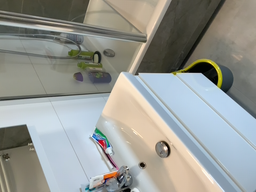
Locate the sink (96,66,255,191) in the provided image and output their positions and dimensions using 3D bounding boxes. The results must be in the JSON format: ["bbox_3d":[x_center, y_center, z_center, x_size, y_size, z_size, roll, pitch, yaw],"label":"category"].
[{"bbox_3d":[0.130,0.220,0.880,0.630,0.140,0.380,52,129,32],"label":"sink"}]

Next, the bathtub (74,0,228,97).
[{"bbox_3d":[0.260,-0.850,1.340,0.700,0.550,1.620,52,129,32],"label":"bathtub"}]
